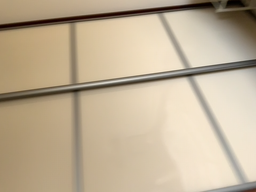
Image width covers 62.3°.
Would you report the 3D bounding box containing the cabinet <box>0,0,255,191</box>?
[{"bbox_3d":[0.050,-0.100,1.740,0.240,2.800,1.850,88,172,-51],"label":"cabinet"}]
